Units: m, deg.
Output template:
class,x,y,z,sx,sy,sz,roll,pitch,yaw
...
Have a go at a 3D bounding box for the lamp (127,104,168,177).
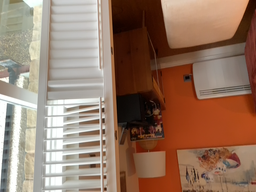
class,x,y,z,sx,sy,sz,roll,pitch,yaw
lamp,0.210,0.460,2.190,0.290,0.640,0.460,-8,165,15
